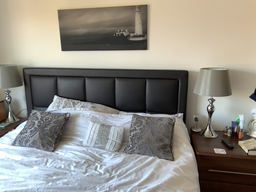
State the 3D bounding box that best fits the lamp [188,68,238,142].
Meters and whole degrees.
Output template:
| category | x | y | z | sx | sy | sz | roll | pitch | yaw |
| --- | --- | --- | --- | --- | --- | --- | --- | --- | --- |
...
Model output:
| category | x | y | z | sx | sy | sz | roll | pitch | yaw |
| --- | --- | --- | --- | --- | --- | --- | --- | --- | --- |
| lamp | 0.820 | 0.070 | 2.120 | 0.340 | 0.650 | 0.340 | 2 | 14 | 10 |
